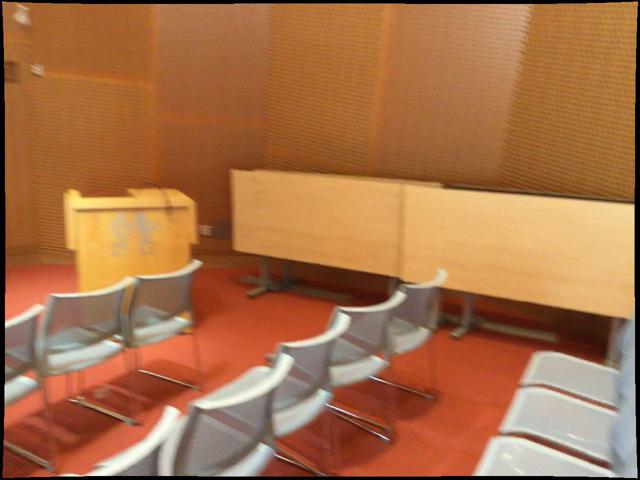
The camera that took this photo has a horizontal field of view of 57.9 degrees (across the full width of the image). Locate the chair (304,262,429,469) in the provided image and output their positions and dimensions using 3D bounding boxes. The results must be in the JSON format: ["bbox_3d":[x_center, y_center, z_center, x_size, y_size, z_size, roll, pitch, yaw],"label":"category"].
[{"bbox_3d":[0.240,0.551,2.780,0.280,0.721,0.720,9,14,29],"label":"chair"}]

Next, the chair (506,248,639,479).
[{"bbox_3d":[1.239,0.571,2.620,0.610,0.911,0.540,7,14,24],"label":"chair"}]

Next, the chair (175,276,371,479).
[{"bbox_3d":[-0.180,0.621,2.460,0.540,0.731,0.640,8,14,28],"label":"chair"}]

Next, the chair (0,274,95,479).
[{"bbox_3d":[-1.299,0.581,2.400,0.240,0.701,0.690,6,13,21],"label":"chair"}]

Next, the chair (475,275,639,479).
[{"bbox_3d":[1.079,0.671,2.260,0.719,0.821,0.730,8,14,28],"label":"chair"}]

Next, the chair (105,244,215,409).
[{"bbox_3d":[-0.839,0.440,3.110,0.240,0.731,0.510,11,15,35],"label":"chair"}]

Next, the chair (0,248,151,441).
[{"bbox_3d":[-1.199,0.460,2.790,0.520,0.691,0.500,11,16,36],"label":"chair"}]

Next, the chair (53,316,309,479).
[{"bbox_3d":[-0.440,0.741,1.990,0.590,0.721,0.580,7,14,25],"label":"chair"}]
